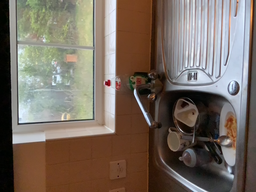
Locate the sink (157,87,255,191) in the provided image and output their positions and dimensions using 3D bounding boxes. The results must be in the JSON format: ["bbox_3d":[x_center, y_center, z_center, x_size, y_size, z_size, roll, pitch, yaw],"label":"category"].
[{"bbox_3d":[0.290,0.150,0.840,0.410,0.150,0.360,-170,80,-66],"label":"sink"}]
